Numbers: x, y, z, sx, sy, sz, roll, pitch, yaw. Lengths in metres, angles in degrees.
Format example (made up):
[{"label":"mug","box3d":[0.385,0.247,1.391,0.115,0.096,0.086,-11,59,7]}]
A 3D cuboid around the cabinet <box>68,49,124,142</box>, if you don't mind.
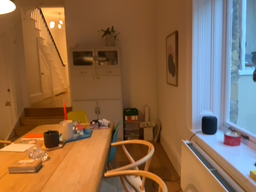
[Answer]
[{"label":"cabinet","box3d":[-0.560,-0.010,3.980,0.900,1.650,0.430,-2,8,0]}]
